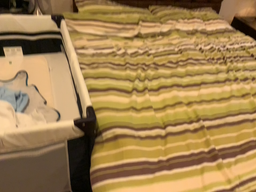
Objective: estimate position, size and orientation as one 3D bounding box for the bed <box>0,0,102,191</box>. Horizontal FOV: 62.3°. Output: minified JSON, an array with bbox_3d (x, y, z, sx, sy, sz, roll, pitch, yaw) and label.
[{"bbox_3d":[-0.680,0.010,1.240,0.740,0.740,1.120,-9,44,-20],"label":"bed"}]
